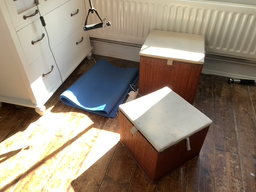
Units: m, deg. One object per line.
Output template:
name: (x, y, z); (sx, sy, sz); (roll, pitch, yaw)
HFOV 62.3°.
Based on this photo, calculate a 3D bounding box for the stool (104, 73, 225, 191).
stool: (0.190, 0.200, 1.260); (0.450, 0.370, 0.460); (-28, 48, -29)

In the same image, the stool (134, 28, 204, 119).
stool: (0.310, -0.190, 1.670); (0.430, 0.480, 0.480); (8, 40, 9)

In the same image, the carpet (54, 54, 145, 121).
carpet: (-0.190, -0.120, 1.780); (0.530, 0.070, 0.720); (10, 40, 11)
